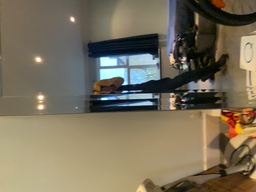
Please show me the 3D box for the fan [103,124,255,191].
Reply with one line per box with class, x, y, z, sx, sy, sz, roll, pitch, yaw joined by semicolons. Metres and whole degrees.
fan;0.410;0.490;1.210;0.350;1.010;0.440;52;137;49
